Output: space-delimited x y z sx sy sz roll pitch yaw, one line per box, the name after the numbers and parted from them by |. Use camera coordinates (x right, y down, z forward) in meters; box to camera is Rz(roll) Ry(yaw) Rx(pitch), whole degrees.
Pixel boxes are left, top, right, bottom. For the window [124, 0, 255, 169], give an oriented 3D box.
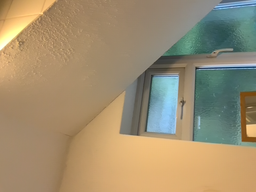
0.550 -0.210 1.460 0.050 1.020 1.290 50 -135 -62 | window
